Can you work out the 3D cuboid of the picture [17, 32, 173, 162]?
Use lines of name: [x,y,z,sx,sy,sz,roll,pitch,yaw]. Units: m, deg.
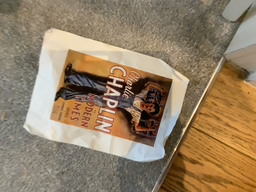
picture: [-0.060,0.000,0.420,0.280,0.020,0.230,-5,92,-3]
